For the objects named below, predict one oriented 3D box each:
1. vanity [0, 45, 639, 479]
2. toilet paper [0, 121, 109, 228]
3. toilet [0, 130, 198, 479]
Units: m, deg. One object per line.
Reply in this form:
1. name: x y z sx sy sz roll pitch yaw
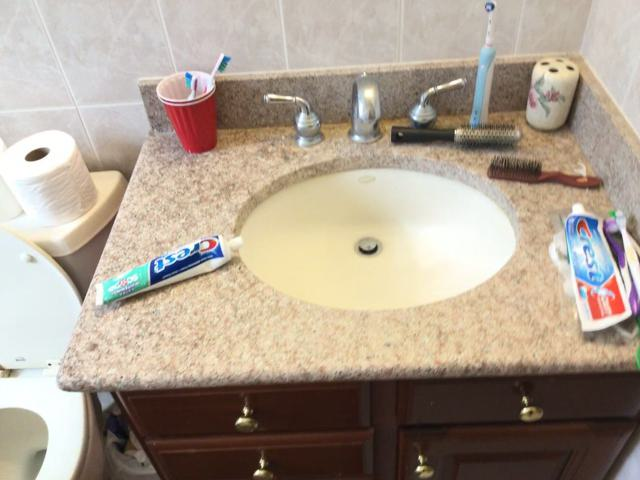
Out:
1. vanity: 0.090 0.210 1.100 0.830 0.890 0.600 -3 43 1
2. toilet paper: -0.480 -0.120 1.040 0.130 0.110 0.160 -3 43 1
3. toilet: -0.600 0.320 1.130 0.480 0.780 0.690 -3 43 1
